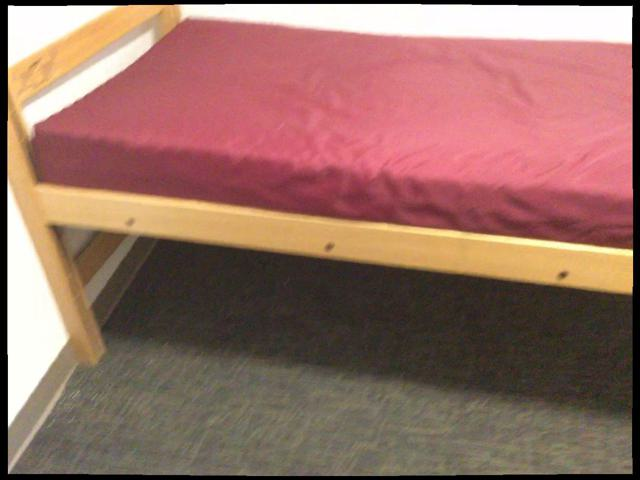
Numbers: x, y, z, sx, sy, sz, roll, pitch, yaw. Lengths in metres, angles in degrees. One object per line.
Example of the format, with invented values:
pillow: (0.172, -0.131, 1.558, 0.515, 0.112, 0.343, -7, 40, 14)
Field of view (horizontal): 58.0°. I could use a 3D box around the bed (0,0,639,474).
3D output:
bed: (0.499, -0.150, 1.750, 2.535, 0.961, 1.151, 5, 39, 10)
